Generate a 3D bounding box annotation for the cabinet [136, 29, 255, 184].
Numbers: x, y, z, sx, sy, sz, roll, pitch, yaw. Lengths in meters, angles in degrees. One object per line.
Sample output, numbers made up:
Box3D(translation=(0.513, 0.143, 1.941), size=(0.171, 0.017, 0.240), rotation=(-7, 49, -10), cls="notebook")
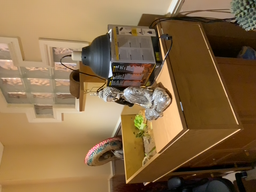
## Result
Box3D(translation=(0.670, 0.220, 1.690), size=(1.290, 0.840, 0.590), rotation=(112, 154, -54), cls="cabinet")
